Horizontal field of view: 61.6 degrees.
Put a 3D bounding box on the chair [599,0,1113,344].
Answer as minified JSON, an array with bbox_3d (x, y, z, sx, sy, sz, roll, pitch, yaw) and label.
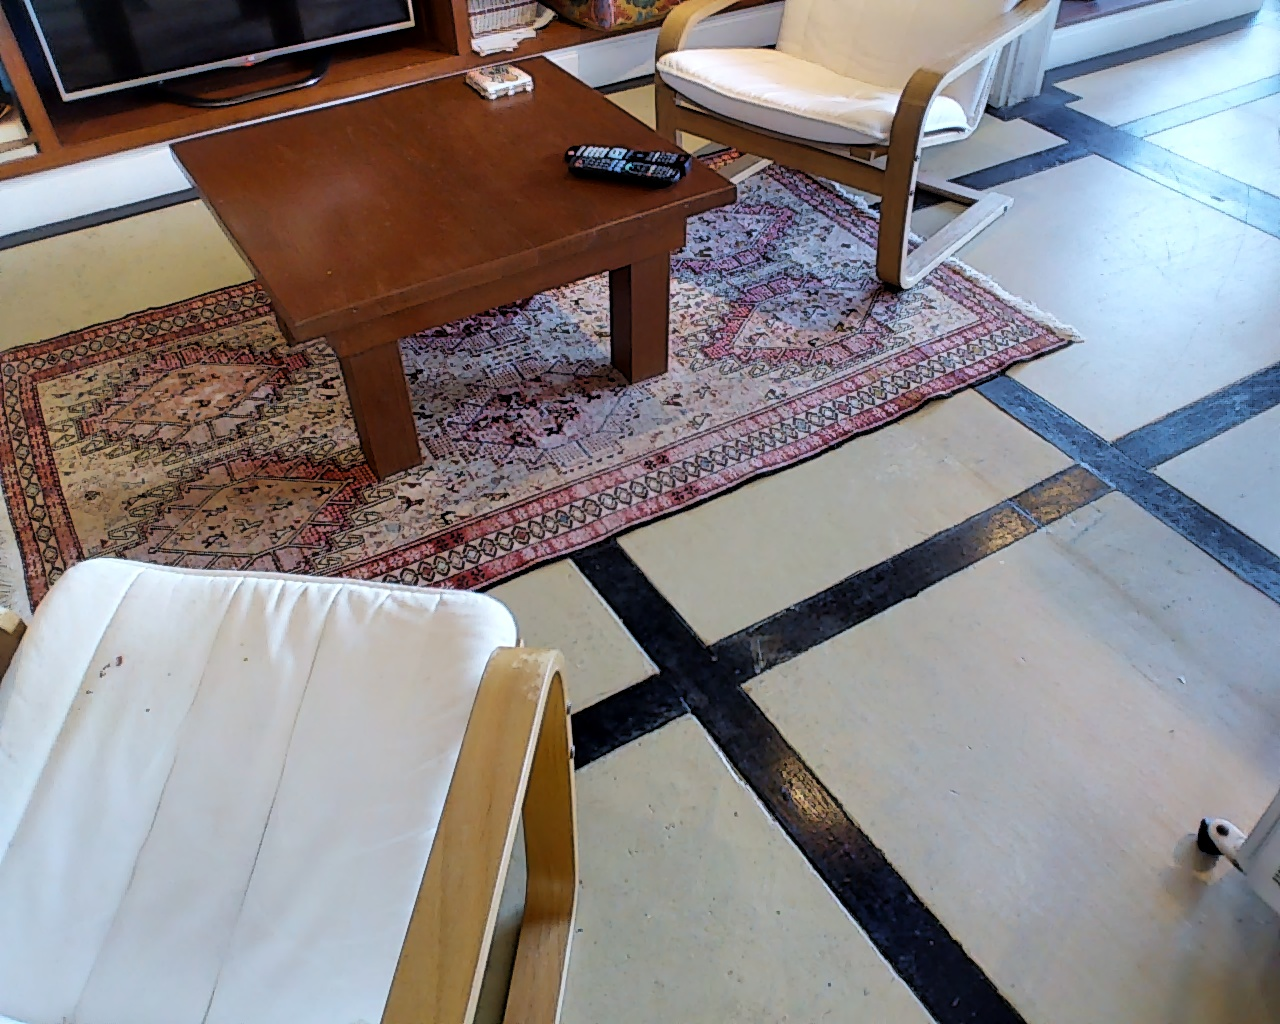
[{"bbox_3d":[0.520,-1.130,2.460,0.800,0.950,0.950,26,49,28],"label":"chair"}]

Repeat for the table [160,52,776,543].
[{"bbox_3d":[-0.350,-0.500,2.170,0.900,0.430,0.830,-22,46,-22],"label":"table"}]

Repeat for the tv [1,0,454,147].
[{"bbox_3d":[-1.050,-1.400,2.750,1.080,0.650,0.150,-22,46,-22],"label":"tv"}]

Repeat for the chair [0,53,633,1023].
[{"bbox_3d":[-0.460,0.290,0.890,0.790,0.990,0.910,3,42,5],"label":"chair"}]
